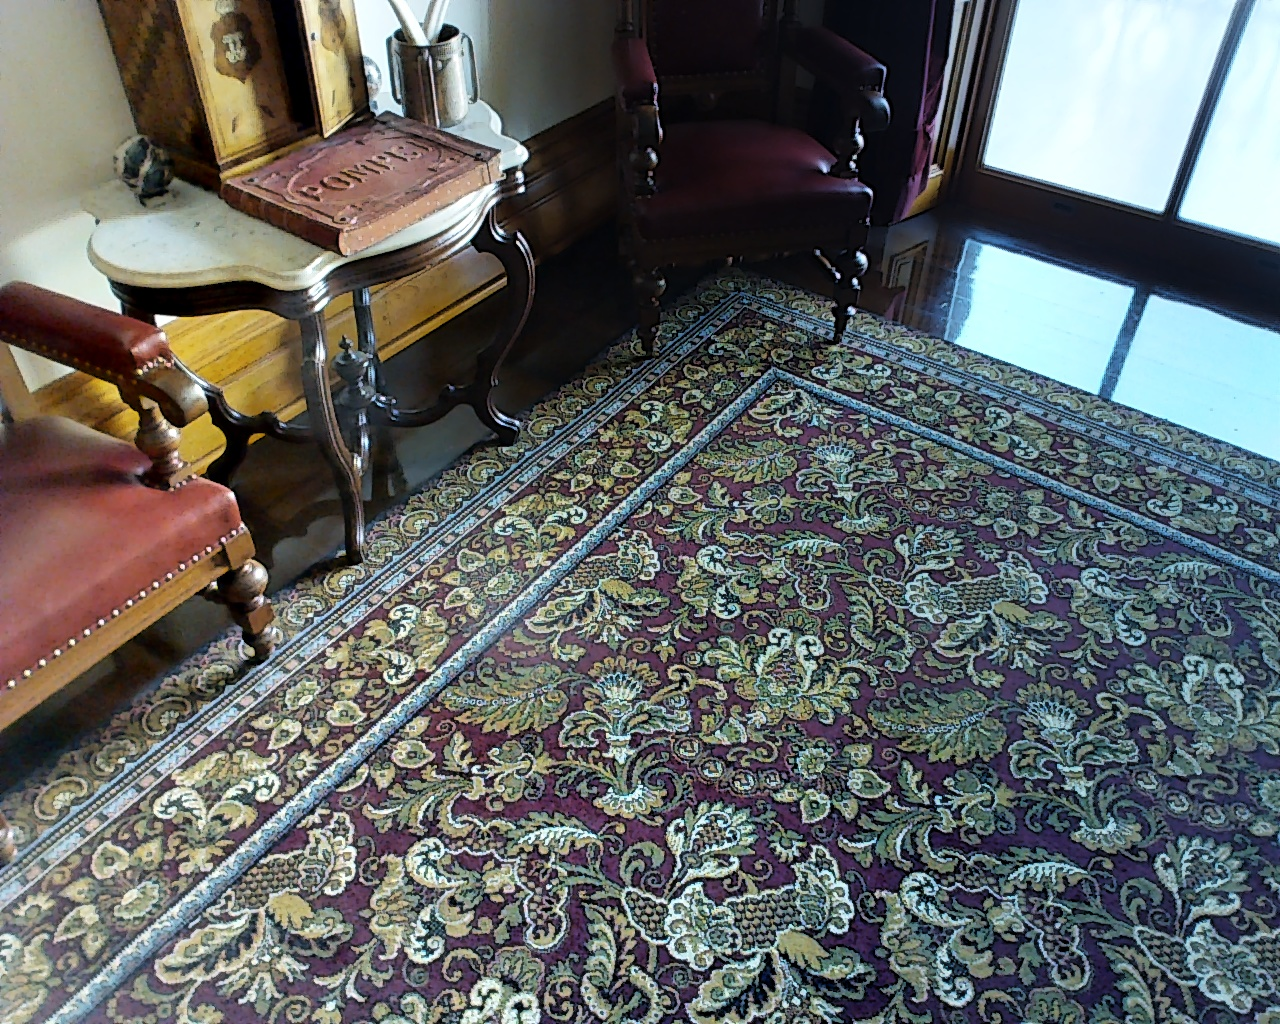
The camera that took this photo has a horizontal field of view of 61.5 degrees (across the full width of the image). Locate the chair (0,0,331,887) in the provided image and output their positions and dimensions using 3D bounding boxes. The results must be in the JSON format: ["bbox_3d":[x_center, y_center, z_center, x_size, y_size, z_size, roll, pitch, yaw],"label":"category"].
[{"bbox_3d":[-1.070,-0.220,1.590,0.680,1.320,0.670,26,48,26],"label":"chair"}]

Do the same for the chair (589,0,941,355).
[{"bbox_3d":[0.260,-1.180,2.660,0.670,1.340,0.700,-7,42,-8],"label":"chair"}]

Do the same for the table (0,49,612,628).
[{"bbox_3d":[-0.620,-0.420,2.270,0.680,0.690,0.940,26,48,26],"label":"table"}]

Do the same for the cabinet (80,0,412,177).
[{"bbox_3d":[-0.710,-0.930,1.920,0.340,0.450,0.420,26,48,26],"label":"cabinet"}]
